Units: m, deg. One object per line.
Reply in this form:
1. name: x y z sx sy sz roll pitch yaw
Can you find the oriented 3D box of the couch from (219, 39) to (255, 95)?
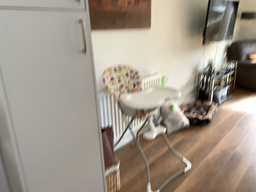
1. couch: 2.740 -0.680 4.500 1.170 0.970 0.850 -11 19 -23
